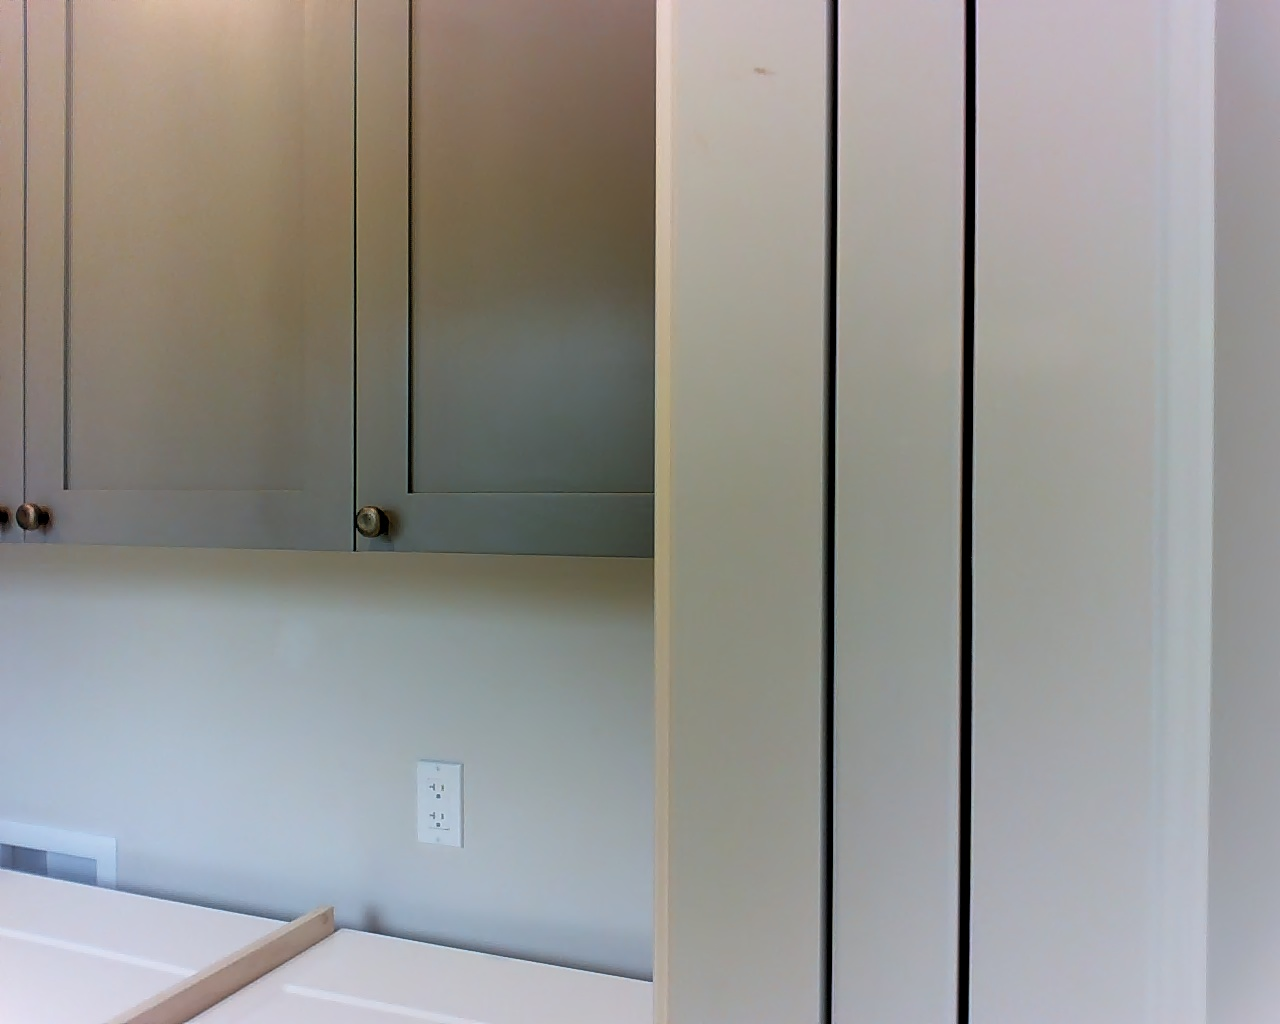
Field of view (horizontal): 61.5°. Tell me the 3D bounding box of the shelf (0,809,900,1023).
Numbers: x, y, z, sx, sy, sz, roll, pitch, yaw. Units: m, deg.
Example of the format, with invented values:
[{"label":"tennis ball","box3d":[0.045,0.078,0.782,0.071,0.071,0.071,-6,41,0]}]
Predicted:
[{"label":"shelf","box3d":[-0.510,0.540,1.190,1.460,0.050,0.830,0,1,21]}]
